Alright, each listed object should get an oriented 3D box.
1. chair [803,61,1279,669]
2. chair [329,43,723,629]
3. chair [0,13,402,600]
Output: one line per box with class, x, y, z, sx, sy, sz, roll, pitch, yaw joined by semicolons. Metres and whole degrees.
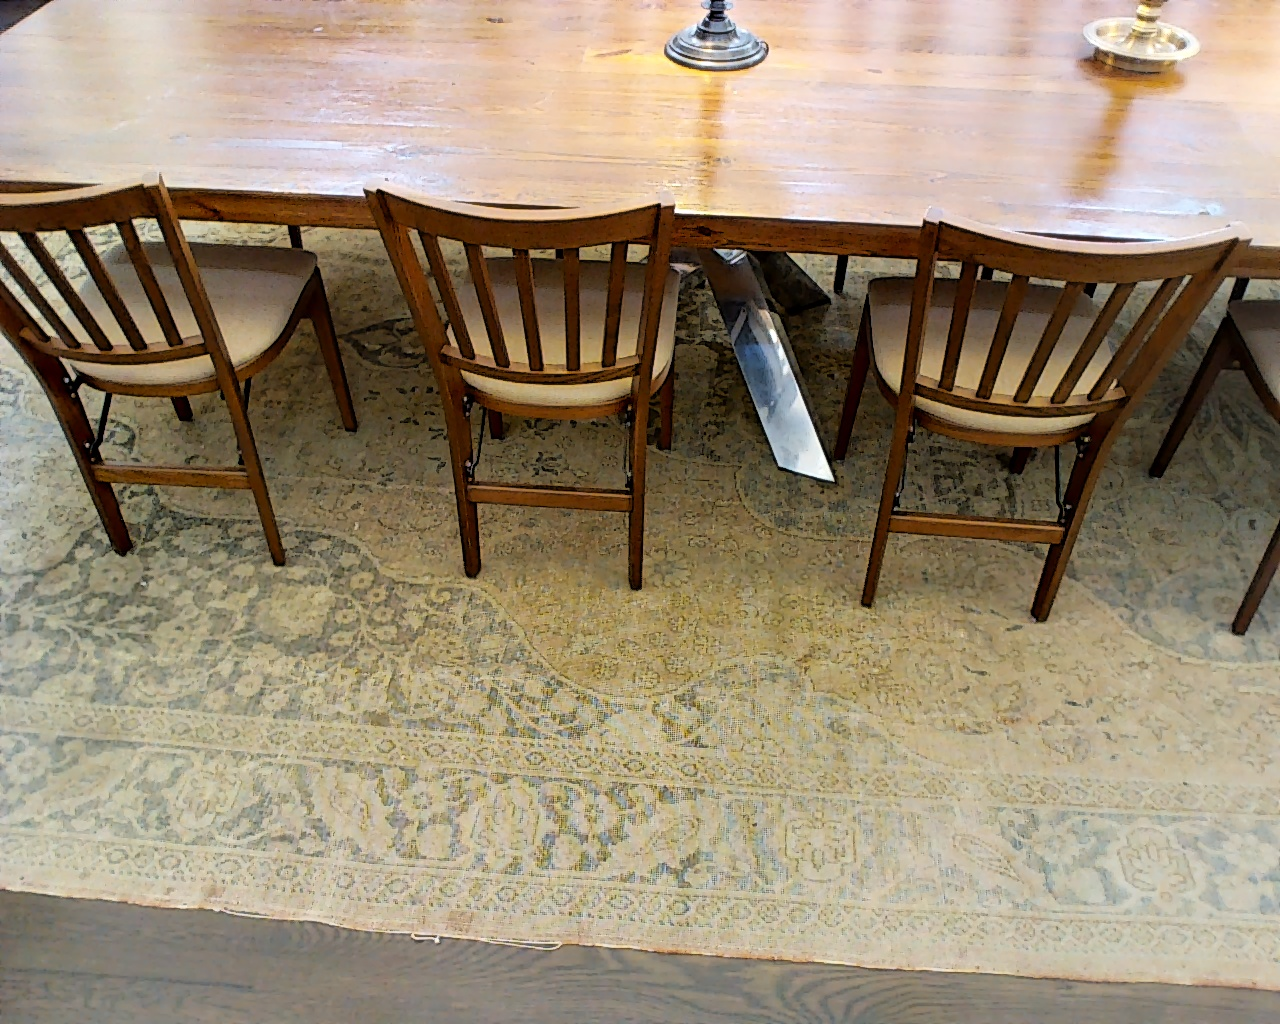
chair;0.610;-0.240;1.870;0.540;0.840;0.580;3;43;3
chair;-0.140;-0.300;1.910;0.510;0.820;0.580;3;43;3
chair;-0.840;-0.370;1.980;0.540;0.830;0.630;3;43;3
